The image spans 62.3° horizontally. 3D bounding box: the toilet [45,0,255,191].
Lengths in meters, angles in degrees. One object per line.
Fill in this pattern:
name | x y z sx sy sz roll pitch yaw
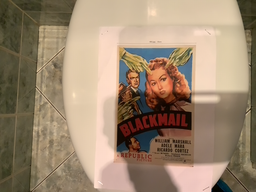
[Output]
toilet | 0.050 -0.030 0.610 0.360 0.460 0.510 2 88 2
